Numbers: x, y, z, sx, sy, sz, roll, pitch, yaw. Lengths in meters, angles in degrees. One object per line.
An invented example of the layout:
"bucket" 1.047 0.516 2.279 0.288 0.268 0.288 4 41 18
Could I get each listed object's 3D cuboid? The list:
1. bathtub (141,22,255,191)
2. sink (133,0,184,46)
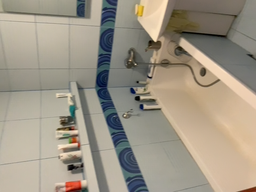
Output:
"bathtub" 0.710 0.060 1.650 1.570 0.570 0.700 -117 32 -48
"sink" 0.240 -0.750 1.620 0.400 0.170 0.610 -119 32 -49
